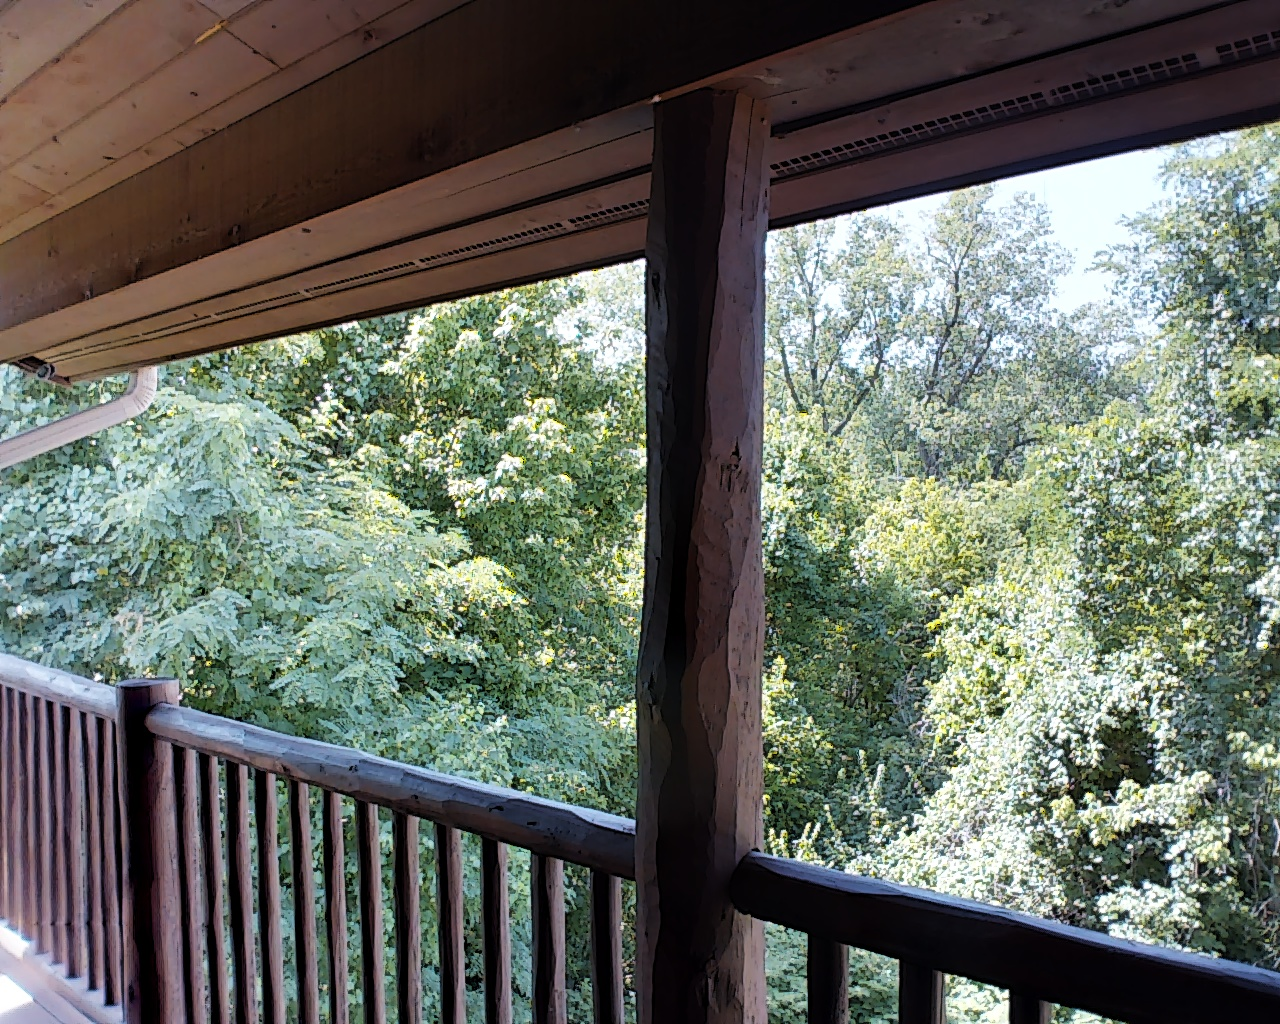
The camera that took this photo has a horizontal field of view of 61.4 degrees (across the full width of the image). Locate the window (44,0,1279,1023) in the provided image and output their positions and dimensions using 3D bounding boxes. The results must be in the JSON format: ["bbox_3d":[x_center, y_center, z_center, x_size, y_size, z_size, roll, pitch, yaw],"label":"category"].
[{"bbox_3d":[0.580,0.450,1.160,6.039,2.221,0.190,-1,-2,42],"label":"window"}]
